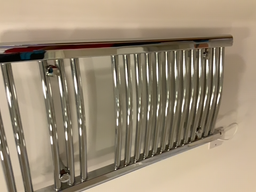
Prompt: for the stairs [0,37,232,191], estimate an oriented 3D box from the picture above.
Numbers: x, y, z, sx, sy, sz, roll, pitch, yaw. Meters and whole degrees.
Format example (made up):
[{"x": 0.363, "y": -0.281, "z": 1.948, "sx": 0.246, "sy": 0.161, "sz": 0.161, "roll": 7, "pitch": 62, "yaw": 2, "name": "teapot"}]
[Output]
[{"x": 0.050, "y": 0.040, "z": 0.720, "sx": 0.040, "sy": 0.860, "sz": 0.440, "roll": 21, "pitch": 117, "yaw": 57, "name": "stairs"}]
